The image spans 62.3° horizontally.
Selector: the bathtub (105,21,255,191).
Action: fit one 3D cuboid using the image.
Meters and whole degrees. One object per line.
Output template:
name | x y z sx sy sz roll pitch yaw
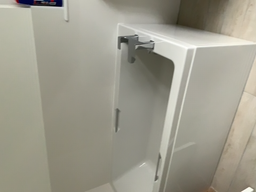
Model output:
bathtub | 0.270 0.290 1.810 0.750 0.610 1.650 41 134 48
